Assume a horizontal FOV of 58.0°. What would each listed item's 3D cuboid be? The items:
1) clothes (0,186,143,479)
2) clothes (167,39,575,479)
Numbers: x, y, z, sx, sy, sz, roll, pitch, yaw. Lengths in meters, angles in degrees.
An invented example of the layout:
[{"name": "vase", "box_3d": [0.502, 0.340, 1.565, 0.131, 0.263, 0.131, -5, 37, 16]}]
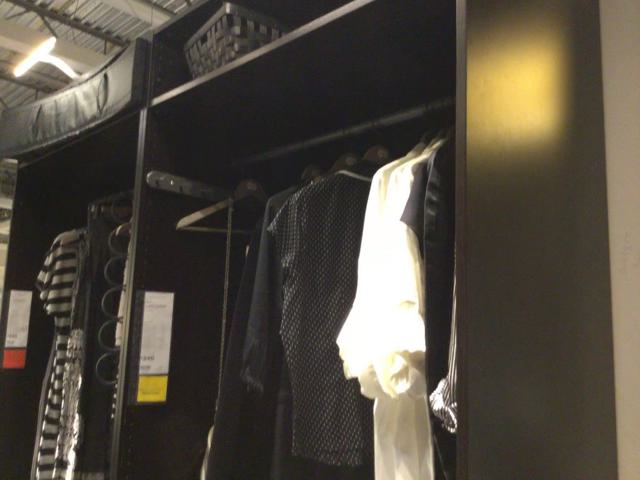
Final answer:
[{"name": "clothes", "box_3d": [-0.920, 0.430, 2.090, 0.400, 1.170, 0.250, -8, -16, 44]}, {"name": "clothes", "box_3d": [0.070, 0.370, 1.210, 0.750, 1.270, 0.400, -8, -16, 44]}]
